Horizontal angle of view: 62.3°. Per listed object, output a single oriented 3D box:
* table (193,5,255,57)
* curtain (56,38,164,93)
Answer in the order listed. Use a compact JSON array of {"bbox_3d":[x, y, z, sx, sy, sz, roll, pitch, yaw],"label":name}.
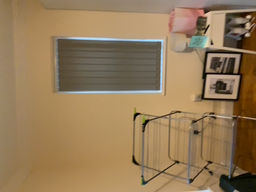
[{"bbox_3d":[1.080,-0.690,2.350,0.400,0.530,0.480,-134,45,-79],"label":"table"},{"bbox_3d":[-0.190,-0.340,2.480,0.010,1.240,0.620,-130,41,-78],"label":"curtain"}]
